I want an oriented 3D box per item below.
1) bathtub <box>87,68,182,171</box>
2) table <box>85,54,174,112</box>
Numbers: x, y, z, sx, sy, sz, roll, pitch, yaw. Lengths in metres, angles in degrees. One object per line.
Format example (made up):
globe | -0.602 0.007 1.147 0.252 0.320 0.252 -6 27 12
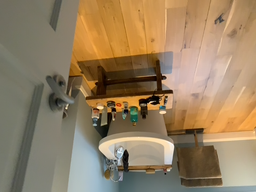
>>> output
bathtub | 0.150 0.480 2.800 0.820 0.640 1.880 -4 151 5
table | 0.020 -0.110 2.000 0.750 0.370 0.320 -5 151 7
